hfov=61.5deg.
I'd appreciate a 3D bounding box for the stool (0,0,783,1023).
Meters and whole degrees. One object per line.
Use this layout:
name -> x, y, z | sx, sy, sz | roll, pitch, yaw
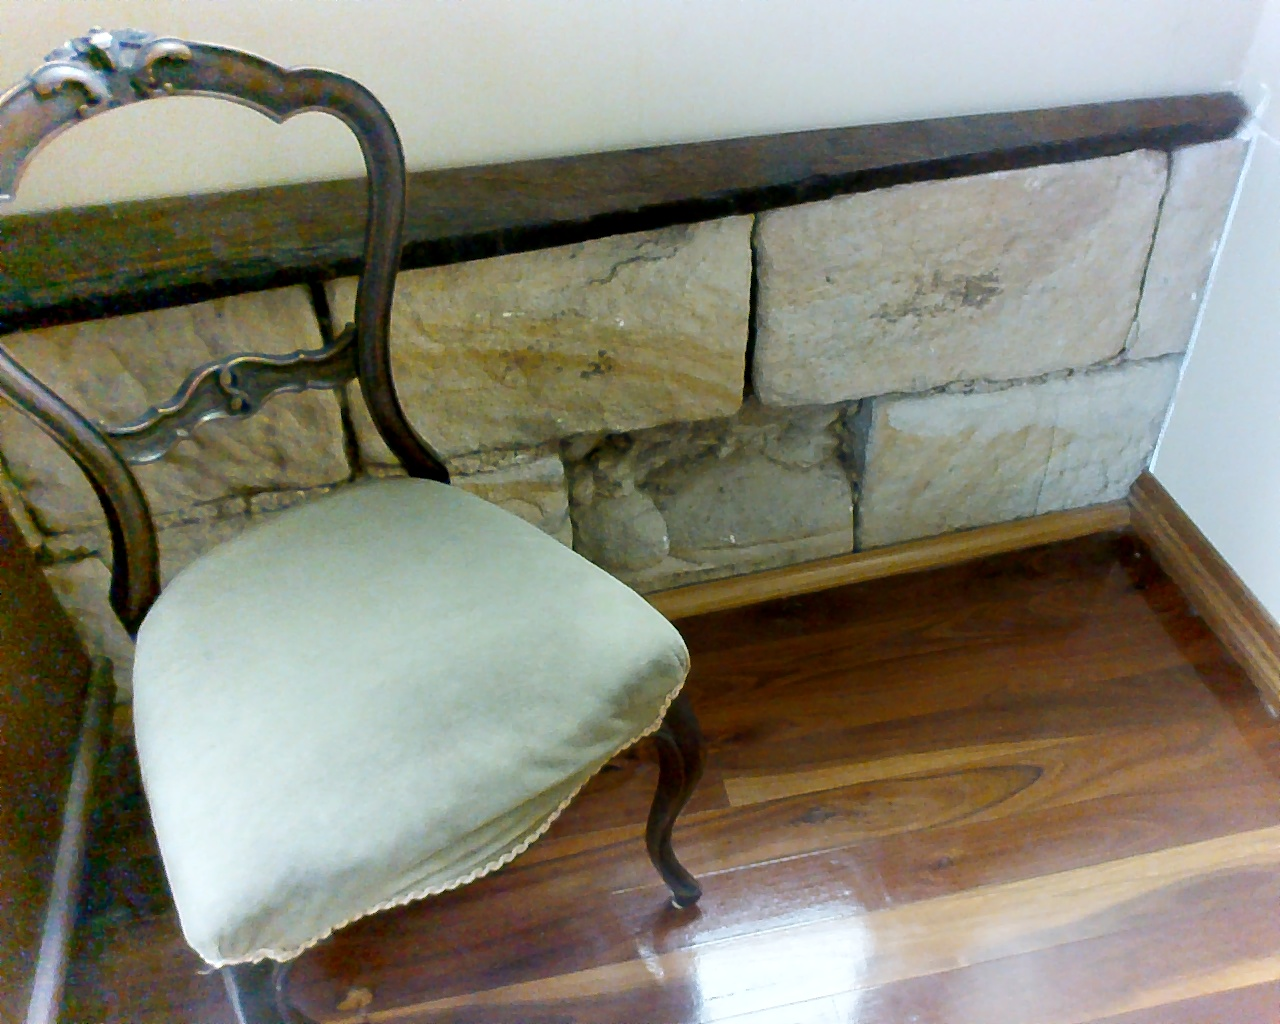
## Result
stool -> -0.260, 0.090, 0.980 | 0.500, 0.890, 0.540 | -27, 47, -24
